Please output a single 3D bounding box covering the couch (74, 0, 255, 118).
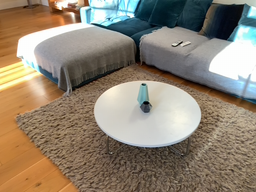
[{"bbox_3d":[0.740,-0.980,3.360,3.480,0.830,1.310,29,44,35],"label":"couch"}]

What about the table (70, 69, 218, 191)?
[{"bbox_3d":[0.140,0.230,1.960,0.920,0.400,0.910,29,44,35],"label":"table"}]

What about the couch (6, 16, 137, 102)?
[{"bbox_3d":[-0.830,-0.690,3.210,1.420,0.530,1.280,29,44,35],"label":"couch"}]

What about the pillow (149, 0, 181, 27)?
[{"bbox_3d":[0.600,-1.390,3.460,0.510,0.470,0.160,18,37,39],"label":"pillow"}]
